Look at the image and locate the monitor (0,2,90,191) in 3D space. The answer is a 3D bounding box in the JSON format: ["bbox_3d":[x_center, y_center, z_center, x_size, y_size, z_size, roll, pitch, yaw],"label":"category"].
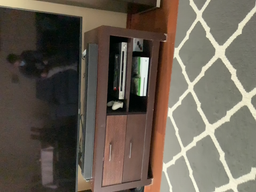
[{"bbox_3d":[-0.740,0.120,1.550,0.050,0.860,1.470,-158,70,-65],"label":"monitor"}]

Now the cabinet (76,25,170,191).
[{"bbox_3d":[-0.100,0.100,1.790,0.530,0.530,1.230,-152,65,-64],"label":"cabinet"}]
